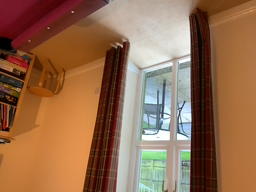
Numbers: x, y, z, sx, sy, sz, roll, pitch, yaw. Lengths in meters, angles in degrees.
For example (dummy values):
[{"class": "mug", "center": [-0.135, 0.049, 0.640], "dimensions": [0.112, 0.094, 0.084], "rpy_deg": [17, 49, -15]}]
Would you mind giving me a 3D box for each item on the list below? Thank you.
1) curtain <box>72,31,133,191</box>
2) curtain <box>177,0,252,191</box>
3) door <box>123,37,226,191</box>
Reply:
[{"class": "curtain", "center": [-0.270, 0.430, 2.120], "dimensions": [0.420, 2.380, 0.140], "rpy_deg": [-9, 155, 35]}, {"class": "curtain", "center": [0.570, 0.230, 1.450], "dimensions": [0.400, 2.180, 0.180], "rpy_deg": [-9, 155, 35]}, {"class": "door", "center": [0.460, 0.470, 2.290], "dimensions": [1.040, 2.220, 0.110], "rpy_deg": [-9, 155, 35]}]
